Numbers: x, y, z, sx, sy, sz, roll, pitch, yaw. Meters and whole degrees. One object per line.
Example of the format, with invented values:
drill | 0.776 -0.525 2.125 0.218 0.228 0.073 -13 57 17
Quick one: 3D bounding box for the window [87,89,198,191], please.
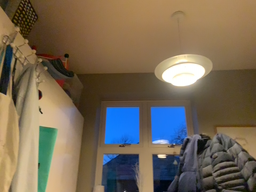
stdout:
window | 0.180 0.690 2.810 1.280 1.560 0.350 0 -24 2
